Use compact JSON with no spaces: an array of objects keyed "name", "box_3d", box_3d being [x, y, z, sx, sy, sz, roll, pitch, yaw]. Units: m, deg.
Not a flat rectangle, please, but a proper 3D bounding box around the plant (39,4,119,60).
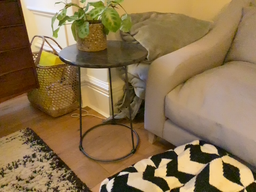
[{"name":"plant","box_3d":[-0.230,-0.320,1.010,0.310,0.180,0.220,26,37,38]}]
